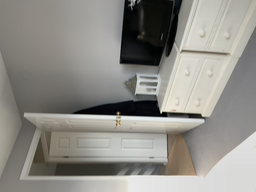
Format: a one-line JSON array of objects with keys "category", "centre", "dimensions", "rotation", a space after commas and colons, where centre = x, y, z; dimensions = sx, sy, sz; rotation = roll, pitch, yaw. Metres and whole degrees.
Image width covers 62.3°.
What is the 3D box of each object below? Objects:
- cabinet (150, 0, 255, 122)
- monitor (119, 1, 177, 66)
[{"category": "cabinet", "centre": [0.680, -0.480, 2.100], "dimensions": [0.460, 0.570, 1.630], "rotation": [-96, 11, -49]}, {"category": "monitor", "centre": [0.170, -0.580, 2.090], "dimensions": [0.060, 0.460, 0.630], "rotation": [-104, 17, -48]}]
